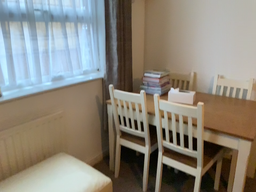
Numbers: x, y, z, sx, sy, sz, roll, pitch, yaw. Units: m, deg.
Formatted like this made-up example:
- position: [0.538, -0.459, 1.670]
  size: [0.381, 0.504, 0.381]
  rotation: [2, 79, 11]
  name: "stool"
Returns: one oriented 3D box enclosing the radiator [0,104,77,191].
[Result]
- position: [-0.830, 0.560, 1.510]
  size: [0.100, 0.750, 1.030]
  rotation: [12, 21, 36]
  name: "radiator"
